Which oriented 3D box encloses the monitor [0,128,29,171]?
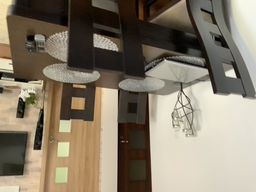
[{"bbox_3d":[-2.040,0.750,3.050,1.040,0.610,0.030,9,163,-21],"label":"monitor"}]
